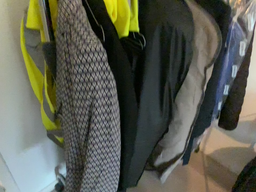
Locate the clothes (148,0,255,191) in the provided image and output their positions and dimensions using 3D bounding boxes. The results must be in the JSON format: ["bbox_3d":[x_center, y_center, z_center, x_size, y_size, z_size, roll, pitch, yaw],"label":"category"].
[{"bbox_3d":[0.380,-0.030,1.250,0.270,1.270,0.590,-2,39,-8],"label":"clothes"}]

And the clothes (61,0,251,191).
[{"bbox_3d":[0.010,-0.020,1.140,0.470,1.340,0.710,-1,39,-7],"label":"clothes"}]
